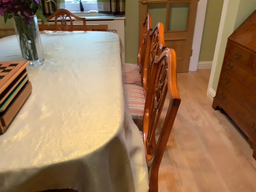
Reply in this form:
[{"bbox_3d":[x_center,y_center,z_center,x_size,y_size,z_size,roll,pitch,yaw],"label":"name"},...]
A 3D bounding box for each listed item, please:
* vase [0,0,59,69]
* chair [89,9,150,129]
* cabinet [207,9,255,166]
[{"bbox_3d":[-0.650,-0.450,1.220,0.360,0.510,0.300,-3,28,-4],"label":"vase"},{"bbox_3d":[-0.070,-0.250,1.970,0.440,0.980,0.490,-2,28,-2],"label":"chair"},{"bbox_3d":[1.110,-0.120,1.710,0.450,0.990,0.830,-2,28,-3],"label":"cabinet"}]
